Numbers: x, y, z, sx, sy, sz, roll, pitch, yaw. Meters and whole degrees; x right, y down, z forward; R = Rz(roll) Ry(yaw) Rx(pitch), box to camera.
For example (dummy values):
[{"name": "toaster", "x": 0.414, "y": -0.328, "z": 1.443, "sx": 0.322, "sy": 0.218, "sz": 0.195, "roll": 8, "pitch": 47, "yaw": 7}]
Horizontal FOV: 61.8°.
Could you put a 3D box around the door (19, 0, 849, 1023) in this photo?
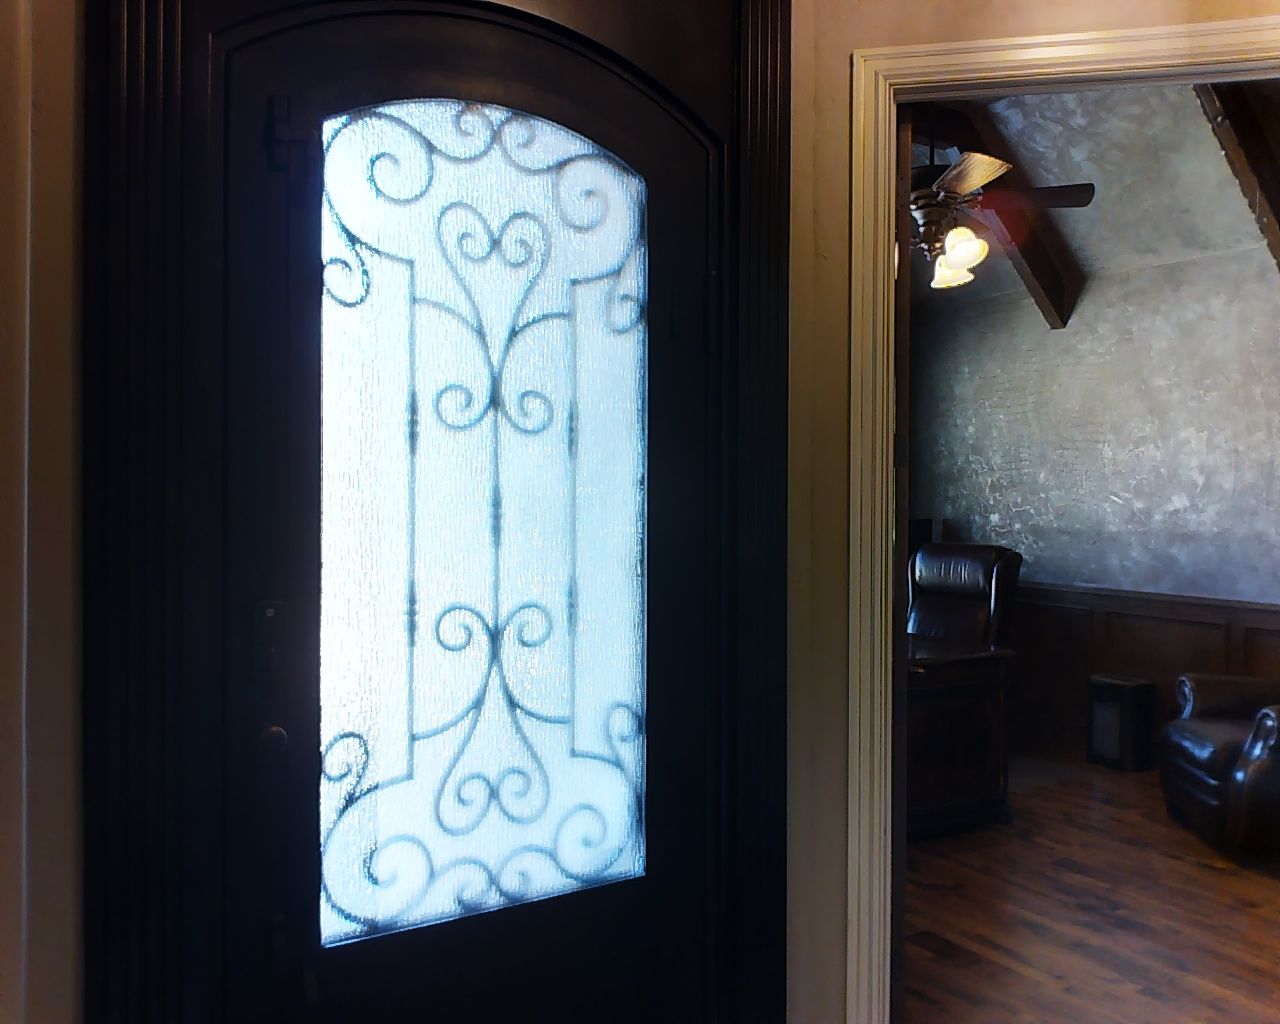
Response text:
[{"name": "door", "x": -0.260, "y": -0.080, "z": 2.220, "sx": 1.760, "sy": 3.080, "sz": 0.090, "roll": 1, "pitch": 0, "yaw": -32}]
